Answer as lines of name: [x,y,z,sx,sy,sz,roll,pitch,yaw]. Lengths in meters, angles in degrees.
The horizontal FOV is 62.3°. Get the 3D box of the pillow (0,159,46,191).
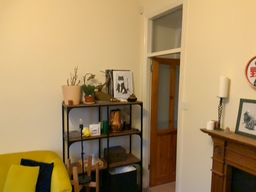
pillow: [-1.090,0.890,2.140,0.330,0.370,0.140,27,-9,17]
